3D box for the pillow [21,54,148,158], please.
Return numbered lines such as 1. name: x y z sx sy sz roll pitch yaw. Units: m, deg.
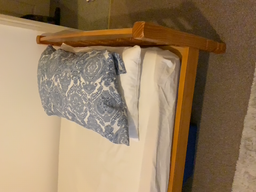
1. pillow: -0.310 -0.020 1.160 0.840 0.250 0.360 15 102 45
